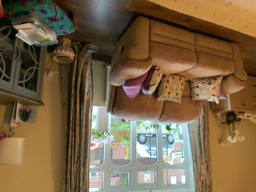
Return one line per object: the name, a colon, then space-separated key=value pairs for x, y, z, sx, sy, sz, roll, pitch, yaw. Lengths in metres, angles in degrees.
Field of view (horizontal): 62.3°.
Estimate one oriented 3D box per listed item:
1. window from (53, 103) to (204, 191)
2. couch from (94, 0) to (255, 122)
window: x=0.090 y=0.940 z=3.440 sx=2.350 sy=1.390 sz=0.570 roll=6 pitch=166 yaw=-26
couch: x=0.530 y=-0.280 z=2.680 sx=1.670 sy=1.060 sz=0.970 roll=6 pitch=166 yaw=-25
